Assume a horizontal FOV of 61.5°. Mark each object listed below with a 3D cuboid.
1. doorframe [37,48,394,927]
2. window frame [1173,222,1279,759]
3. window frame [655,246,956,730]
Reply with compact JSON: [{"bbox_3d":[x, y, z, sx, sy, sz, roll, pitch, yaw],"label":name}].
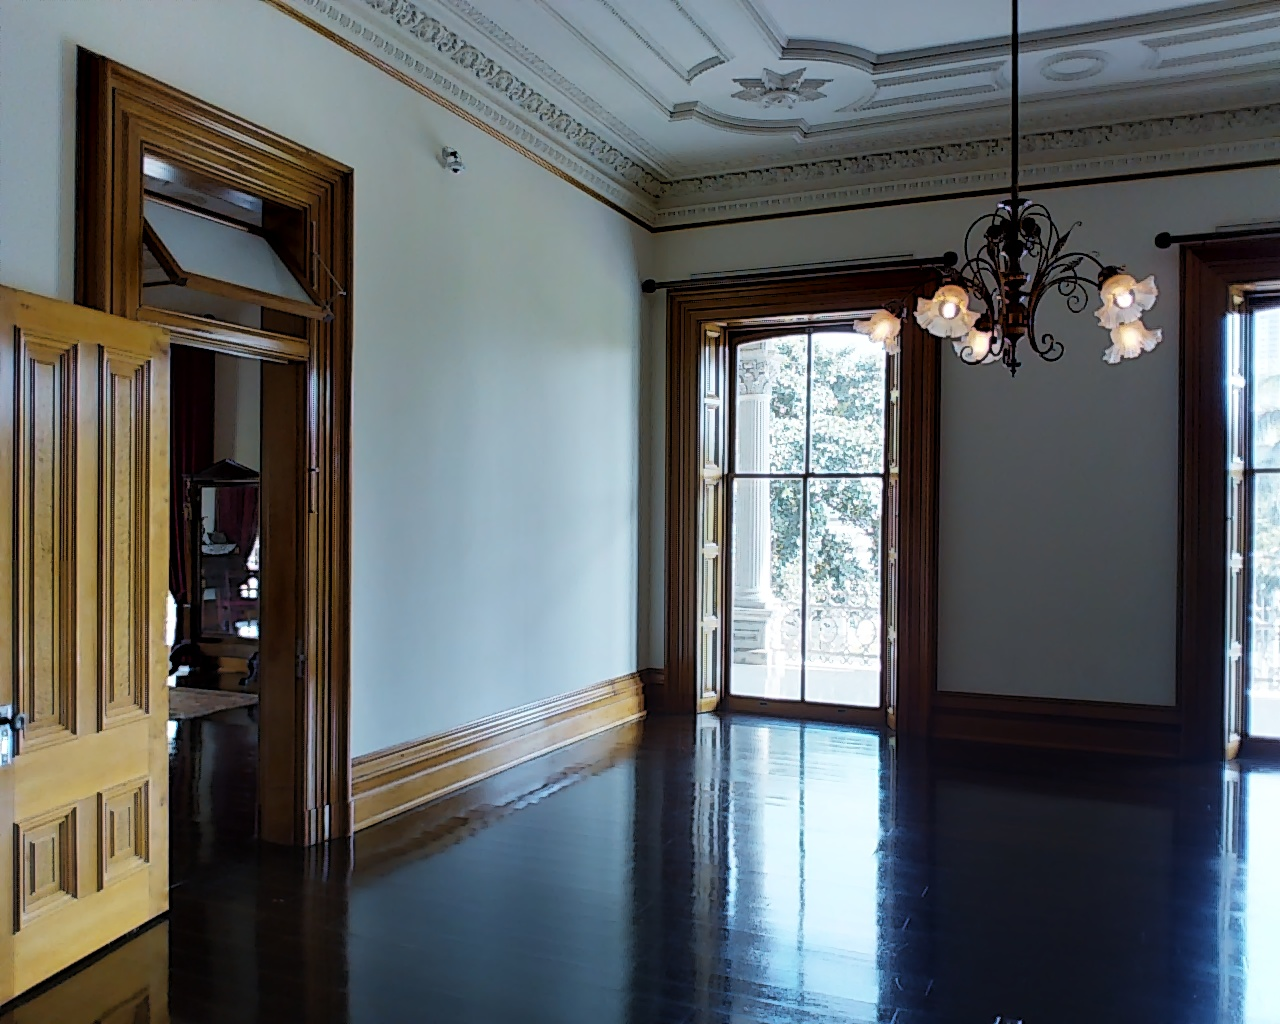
[{"bbox_3d":[-1.750,-0.090,4.690,0.450,3.180,1.550,1,0,25],"label":"doorframe"},{"bbox_3d":[4.629,-0.130,6.810,2.200,3.390,0.520,1,0,25],"label":"window frame"},{"bbox_3d":[1.250,-0.180,8.330,2.200,3.430,0.570,1,0,25],"label":"window frame"}]
